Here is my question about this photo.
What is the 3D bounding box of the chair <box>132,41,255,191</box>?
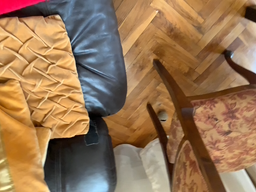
[{"bbox_3d":[0.340,0.170,0.780,0.500,0.890,0.410,-5,126,-7],"label":"chair"}]
